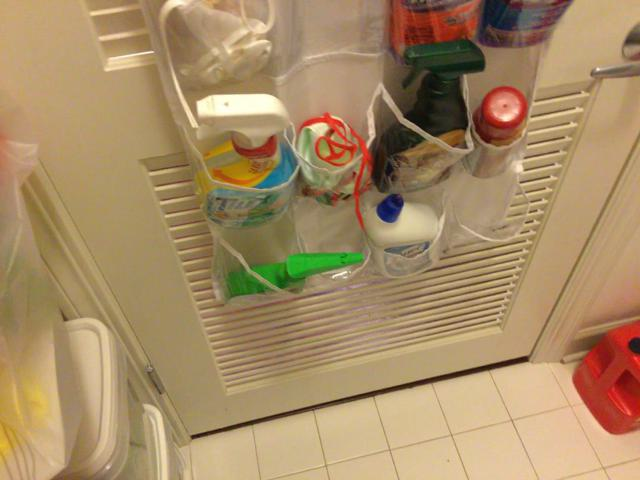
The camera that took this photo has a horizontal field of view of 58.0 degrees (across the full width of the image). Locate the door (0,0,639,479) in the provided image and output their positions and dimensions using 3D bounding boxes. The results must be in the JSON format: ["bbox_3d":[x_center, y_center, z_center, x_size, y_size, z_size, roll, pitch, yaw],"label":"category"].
[{"bbox_3d":[0.100,-0.220,0.590,1.020,2.040,0.180,-11,50,-7],"label":"door"}]

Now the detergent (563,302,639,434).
[{"bbox_3d":[0.710,0.280,1.290,0.190,0.280,0.160,-11,50,-7],"label":"detergent"}]

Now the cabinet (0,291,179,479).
[{"bbox_3d":[-0.400,0.320,0.900,0.280,0.350,0.280,-11,50,-7],"label":"cabinet"}]
